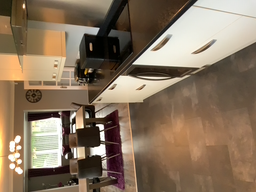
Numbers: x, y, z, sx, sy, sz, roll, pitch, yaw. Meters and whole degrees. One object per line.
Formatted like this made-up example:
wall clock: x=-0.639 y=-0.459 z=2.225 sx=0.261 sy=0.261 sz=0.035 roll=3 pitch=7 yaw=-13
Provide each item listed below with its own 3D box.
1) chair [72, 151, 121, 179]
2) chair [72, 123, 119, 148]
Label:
chair: x=-0.690 y=1.460 z=4.560 sx=0.510 sy=0.910 sz=0.440 roll=146 pitch=121 yaw=-64
chair: x=-0.730 y=0.870 z=4.670 sx=0.510 sy=0.890 sz=0.440 roll=146 pitch=121 yaw=-64
